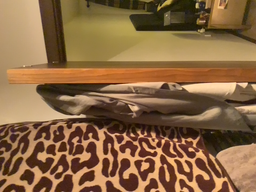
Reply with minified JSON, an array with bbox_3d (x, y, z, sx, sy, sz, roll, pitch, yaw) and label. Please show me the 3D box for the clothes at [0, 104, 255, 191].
[{"bbox_3d":[0.130,0.230,0.590,0.590,1.160,0.150,-99,9,-64],"label":"clothes"}]
